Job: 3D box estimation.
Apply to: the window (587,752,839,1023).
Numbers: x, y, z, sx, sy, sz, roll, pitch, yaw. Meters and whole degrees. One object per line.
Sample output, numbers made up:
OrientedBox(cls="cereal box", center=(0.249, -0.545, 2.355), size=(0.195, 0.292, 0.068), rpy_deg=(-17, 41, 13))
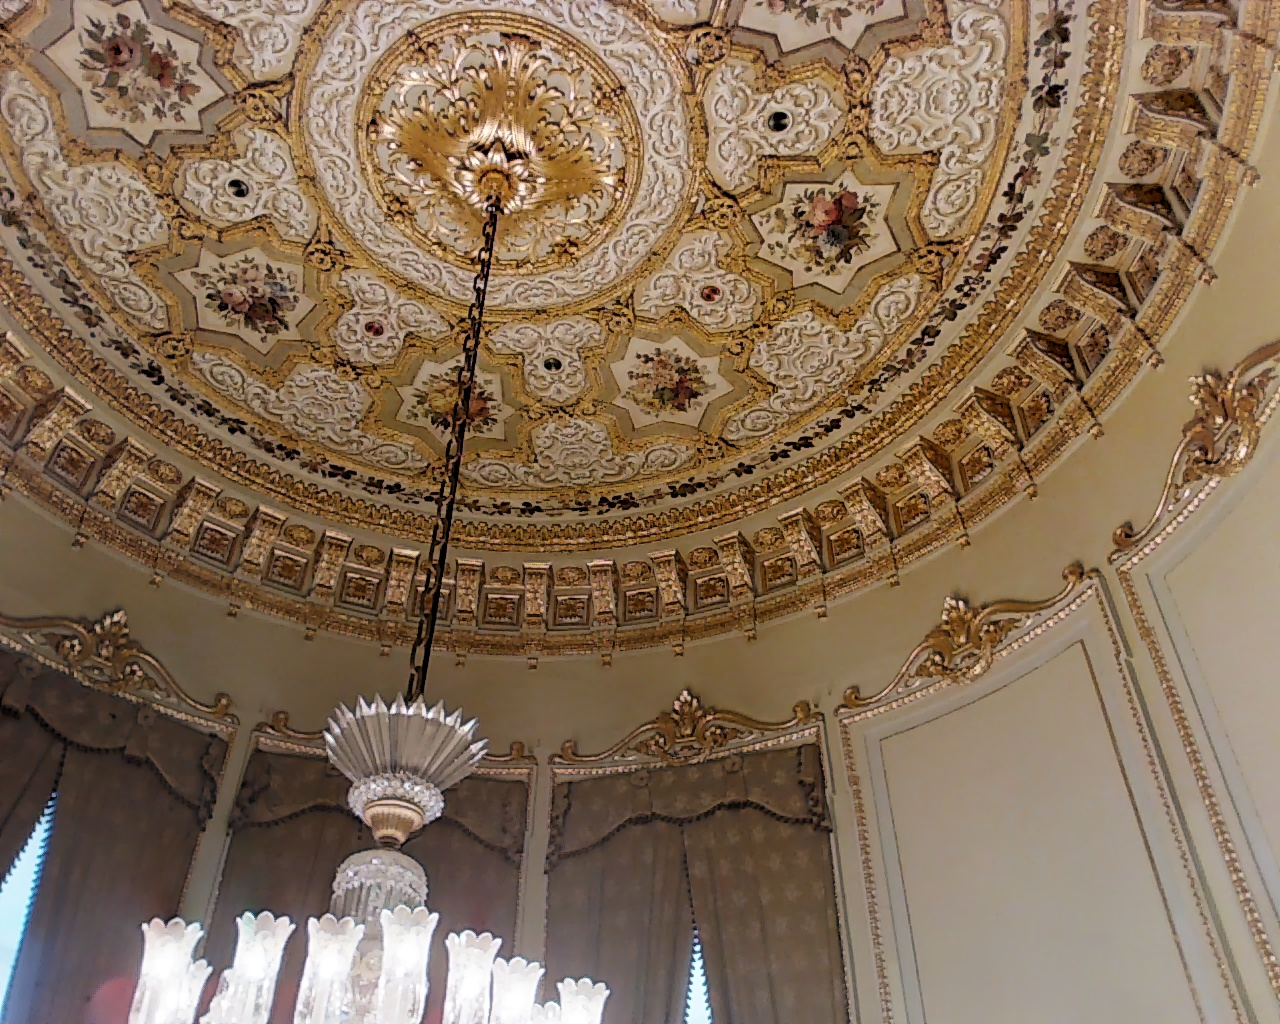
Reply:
OrientedBox(cls="window", center=(0.370, 2.932, 5.580), size=(1.359, 3.431, 0.160), rpy_deg=(-13, -43, 16))
